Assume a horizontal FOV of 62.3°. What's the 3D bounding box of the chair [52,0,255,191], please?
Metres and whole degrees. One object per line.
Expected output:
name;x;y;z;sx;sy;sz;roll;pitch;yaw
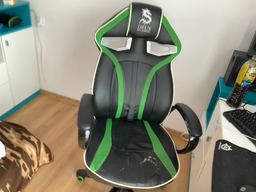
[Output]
chair;0.040;0.130;1.330;0.730;1.220;0.830;5;32;-7
